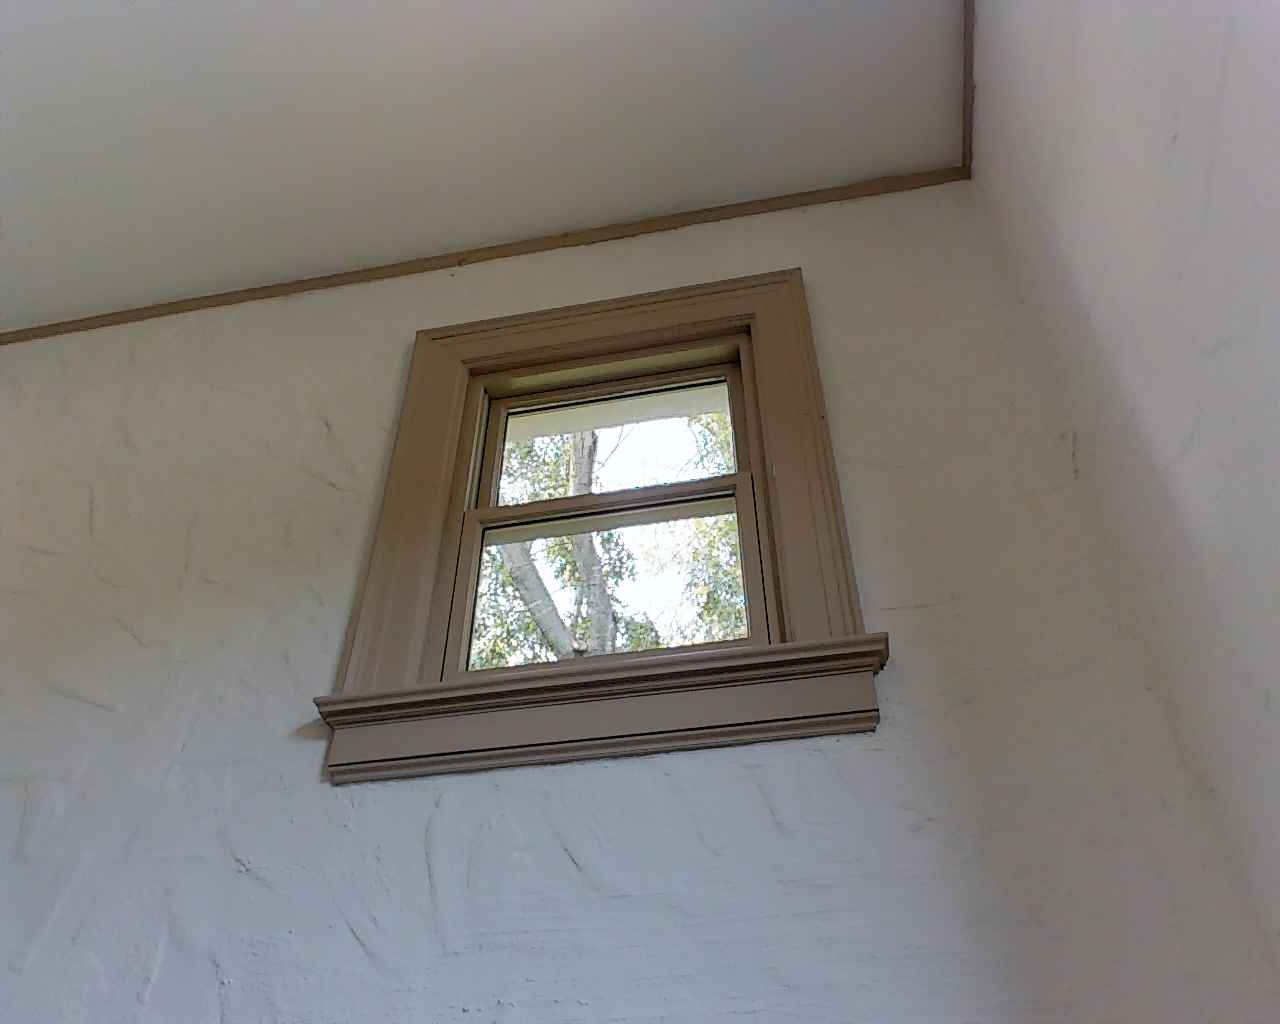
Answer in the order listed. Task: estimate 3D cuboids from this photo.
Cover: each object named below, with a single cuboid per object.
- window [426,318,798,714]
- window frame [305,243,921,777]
[{"bbox_3d":[-0.050,-0.030,2.210,0.650,0.880,0.120,-7,-43,8],"label":"window"},{"bbox_3d":[-0.050,-0.070,2.190,1.020,1.160,0.150,-7,-43,8],"label":"window frame"}]
